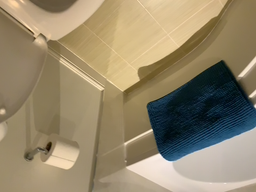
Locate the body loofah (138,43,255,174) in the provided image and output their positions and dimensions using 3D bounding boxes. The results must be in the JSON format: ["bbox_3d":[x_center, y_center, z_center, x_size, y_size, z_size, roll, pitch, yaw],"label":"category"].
[{"bbox_3d":[0.380,0.090,1.100,0.560,0.370,0.320,-31,128,27],"label":"body loofah"}]

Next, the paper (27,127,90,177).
[{"bbox_3d":[-0.270,0.230,0.850,0.120,0.100,0.190,-32,128,28],"label":"paper"}]

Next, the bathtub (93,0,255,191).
[{"bbox_3d":[0.740,-0.100,1.110,1.660,0.600,0.910,-33,127,29],"label":"bathtub"}]
